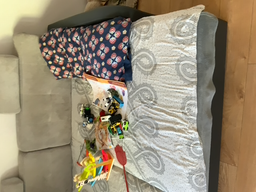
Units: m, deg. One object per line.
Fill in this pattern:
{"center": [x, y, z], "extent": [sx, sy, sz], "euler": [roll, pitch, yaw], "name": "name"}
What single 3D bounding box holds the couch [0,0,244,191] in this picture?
{"center": [-0.240, 0.470, 1.560], "extent": [1.490, 0.980, 2.240], "euler": [10, 101, 47], "name": "couch"}
